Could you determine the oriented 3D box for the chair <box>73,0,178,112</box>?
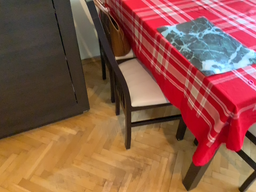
[{"bbox_3d":[-0.050,-0.440,1.560,0.560,0.980,0.460,-14,47,-15],"label":"chair"}]
